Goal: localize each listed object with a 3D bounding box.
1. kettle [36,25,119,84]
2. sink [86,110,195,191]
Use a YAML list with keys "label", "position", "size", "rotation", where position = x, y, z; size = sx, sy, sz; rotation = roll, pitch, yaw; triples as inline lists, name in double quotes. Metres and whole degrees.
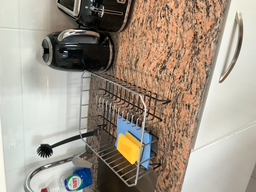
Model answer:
- label: "kettle"
  position: [-0.190, -0.160, 0.800]
  size: [0.160, 0.250, 0.170]
  rotation: [29, 118, 45]
- label: "sink"
  position: [0.020, 0.350, 1.010]
  size: [0.440, 0.230, 0.400]
  rotation: [28, 118, 45]
